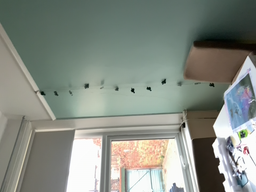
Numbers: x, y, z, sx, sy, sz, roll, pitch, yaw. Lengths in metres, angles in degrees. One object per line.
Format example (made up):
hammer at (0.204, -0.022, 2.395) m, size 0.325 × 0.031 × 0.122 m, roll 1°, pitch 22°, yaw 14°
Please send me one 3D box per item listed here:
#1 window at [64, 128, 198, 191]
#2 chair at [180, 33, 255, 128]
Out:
window at (0.020, 0.870, 2.520) m, size 0.340 × 1.400 × 0.840 m, roll 87°, pitch 180°, yaw -53°
chair at (0.970, -0.130, 1.770) m, size 0.550 × 0.880 × 0.530 m, roll 87°, pitch 180°, yaw -49°
